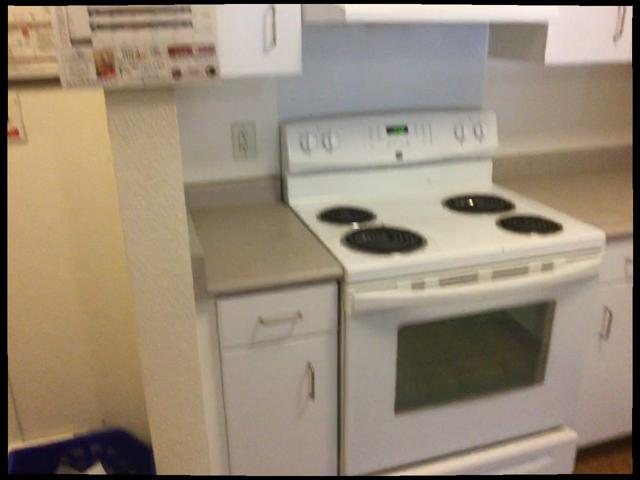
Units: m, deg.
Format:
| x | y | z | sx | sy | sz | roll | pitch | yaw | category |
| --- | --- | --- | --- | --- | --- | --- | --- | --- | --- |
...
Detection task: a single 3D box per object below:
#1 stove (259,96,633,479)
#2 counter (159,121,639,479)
| x | y | z | sx | sy | sz | roll | pitch | yaw | category |
| --- | --- | --- | --- | --- | --- | --- | --- | --- | --- |
| 0.319 | 0.240 | 1.890 | 0.739 | 1.192 | 0.800 | -12 | 25 | -16 | stove |
| 0.798 | 0.050 | 1.420 | 2.176 | 0.180 | 1.780 | -9 | 25 | -16 | counter |
